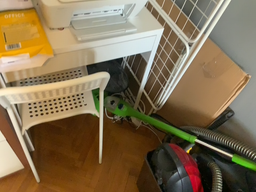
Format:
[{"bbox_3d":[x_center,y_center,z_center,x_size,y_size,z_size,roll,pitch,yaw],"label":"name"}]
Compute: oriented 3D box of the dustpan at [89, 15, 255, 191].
[{"bbox_3d":[0.180,0.210,1.130,0.330,0.670,1.140,-19,59,-24],"label":"dustpan"}]
